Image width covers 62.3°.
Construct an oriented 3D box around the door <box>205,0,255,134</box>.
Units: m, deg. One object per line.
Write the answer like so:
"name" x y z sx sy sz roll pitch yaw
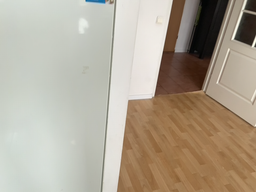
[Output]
"door" 1.420 -0.640 2.290 0.120 2.060 0.780 -5 32 -20
